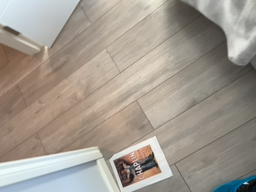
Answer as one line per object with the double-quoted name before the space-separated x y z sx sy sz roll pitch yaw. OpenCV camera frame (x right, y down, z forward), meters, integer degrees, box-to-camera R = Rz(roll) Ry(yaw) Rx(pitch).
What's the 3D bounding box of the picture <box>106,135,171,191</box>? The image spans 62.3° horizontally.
"picture" 0.050 0.360 1.140 0.300 0.030 0.200 -26 75 13
